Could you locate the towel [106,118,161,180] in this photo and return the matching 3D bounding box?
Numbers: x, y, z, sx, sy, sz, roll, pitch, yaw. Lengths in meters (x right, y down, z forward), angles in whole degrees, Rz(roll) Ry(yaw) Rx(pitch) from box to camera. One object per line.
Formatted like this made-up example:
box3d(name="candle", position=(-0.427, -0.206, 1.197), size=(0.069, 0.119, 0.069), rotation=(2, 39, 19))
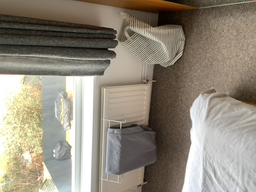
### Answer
box3d(name="towel", position=(0.060, 0.490, 2.060), size=(0.130, 0.540, 0.470), rotation=(19, 110, 53))
